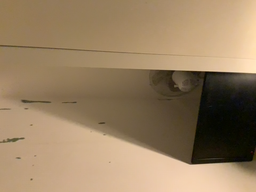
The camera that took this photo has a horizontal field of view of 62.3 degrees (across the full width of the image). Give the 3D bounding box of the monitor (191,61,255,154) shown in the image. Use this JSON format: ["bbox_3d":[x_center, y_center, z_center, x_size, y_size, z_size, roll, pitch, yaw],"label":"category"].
[{"bbox_3d":[0.540,0.070,1.100,0.030,0.370,0.480,-126,38,-71],"label":"monitor"}]
